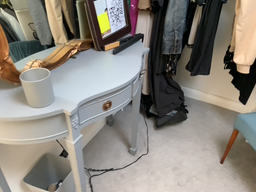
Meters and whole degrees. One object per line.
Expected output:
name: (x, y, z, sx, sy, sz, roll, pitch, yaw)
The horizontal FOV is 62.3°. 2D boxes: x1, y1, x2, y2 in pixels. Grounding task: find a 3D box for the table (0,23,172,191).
table: (-0.190, 0.160, 1.080, 0.420, 0.760, 0.900, 20, 39, 22)
